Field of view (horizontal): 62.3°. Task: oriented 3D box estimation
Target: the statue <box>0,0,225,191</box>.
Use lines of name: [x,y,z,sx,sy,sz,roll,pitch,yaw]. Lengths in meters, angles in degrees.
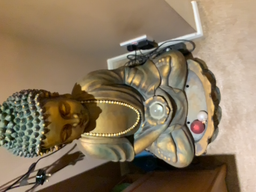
statue: [0.000,0.070,0.870,0.580,0.880,0.440,-9,85,31]
